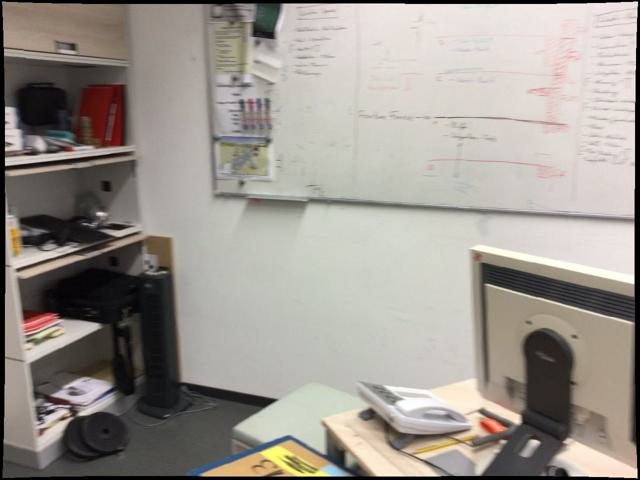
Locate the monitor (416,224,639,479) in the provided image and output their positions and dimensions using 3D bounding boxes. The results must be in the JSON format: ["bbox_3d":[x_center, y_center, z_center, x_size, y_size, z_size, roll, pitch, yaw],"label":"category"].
[{"bbox_3d":[0.499,0.270,1.140,0.220,0.480,0.620,-9,17,-34],"label":"monitor"}]
